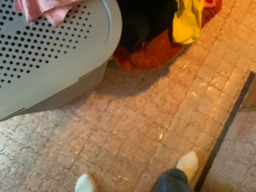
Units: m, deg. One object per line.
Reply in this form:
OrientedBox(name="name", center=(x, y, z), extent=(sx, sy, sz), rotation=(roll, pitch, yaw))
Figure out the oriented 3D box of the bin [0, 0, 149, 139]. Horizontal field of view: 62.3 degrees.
OrientedBox(name="bin", center=(-0.260, -0.110, 0.700), extent=(0.420, 0.740, 0.310), rotation=(-29, 88, -8))
